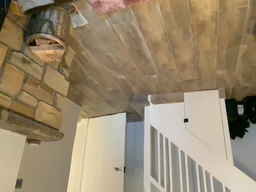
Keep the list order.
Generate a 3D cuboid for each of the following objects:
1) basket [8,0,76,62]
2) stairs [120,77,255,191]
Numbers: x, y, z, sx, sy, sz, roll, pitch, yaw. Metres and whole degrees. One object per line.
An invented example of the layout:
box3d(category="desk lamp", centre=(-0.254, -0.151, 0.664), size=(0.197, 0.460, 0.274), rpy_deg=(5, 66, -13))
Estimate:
box3d(category="basket", centre=(-0.660, -0.530, 1.690), size=(0.320, 0.380, 0.300), rpy_deg=(-5, 156, 16))
box3d(category="stairs", centre=(1.460, 1.080, 2.860), size=(2.930, 2.430, 1.000), rpy_deg=(-4, 156, 16))
